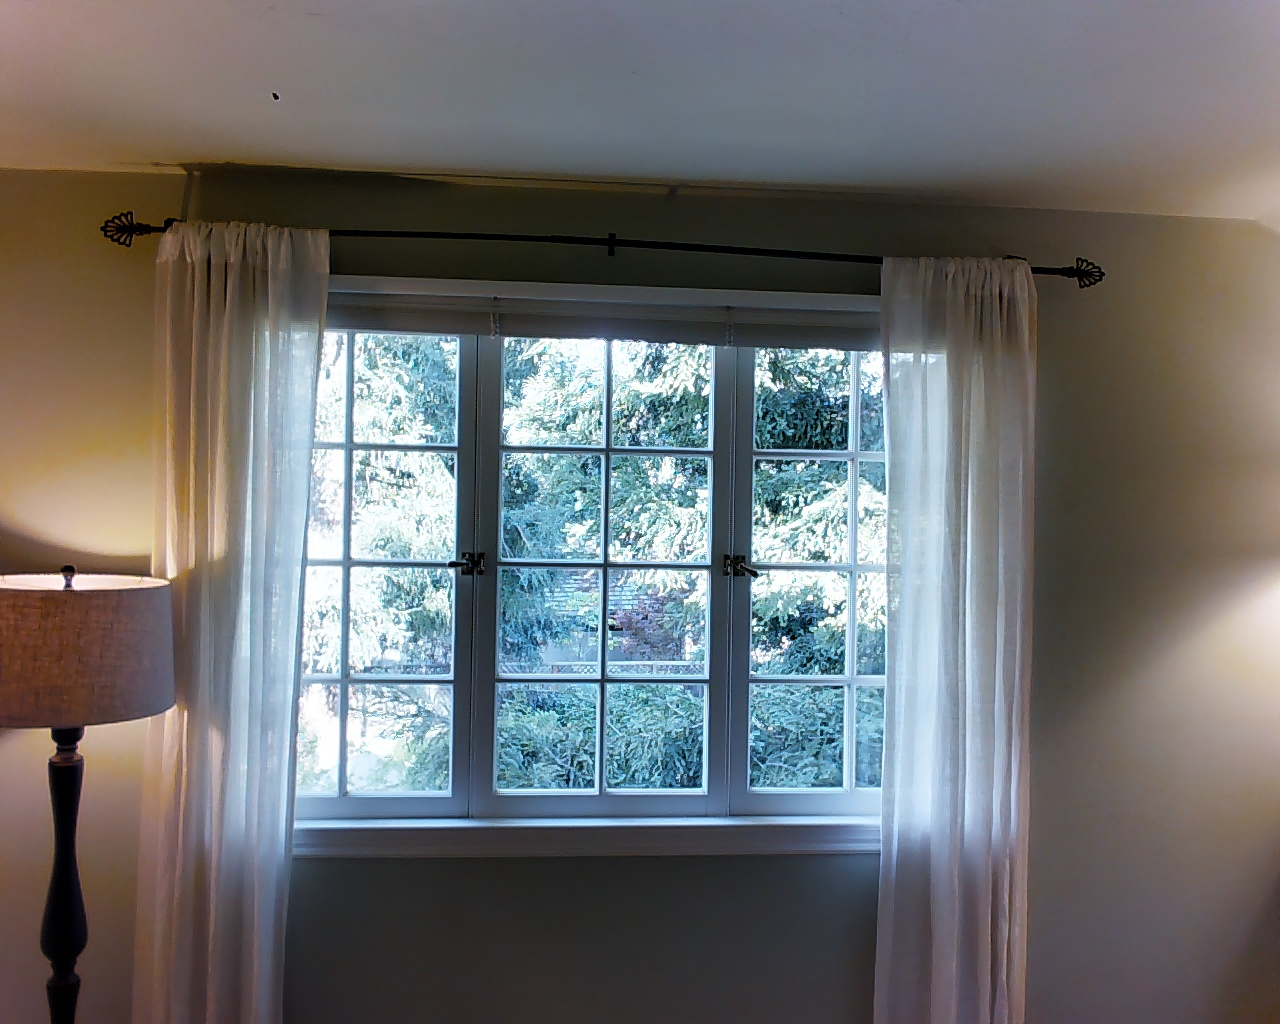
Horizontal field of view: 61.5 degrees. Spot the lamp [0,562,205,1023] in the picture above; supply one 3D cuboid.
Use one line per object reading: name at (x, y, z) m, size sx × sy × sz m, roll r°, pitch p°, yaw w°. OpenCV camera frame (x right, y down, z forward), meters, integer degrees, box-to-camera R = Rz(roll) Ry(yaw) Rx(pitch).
lamp at (-1.180, 0.840, 2.180) m, size 0.420 × 1.450 × 0.410 m, roll 1°, pitch 0°, yaw -5°
